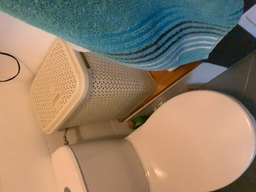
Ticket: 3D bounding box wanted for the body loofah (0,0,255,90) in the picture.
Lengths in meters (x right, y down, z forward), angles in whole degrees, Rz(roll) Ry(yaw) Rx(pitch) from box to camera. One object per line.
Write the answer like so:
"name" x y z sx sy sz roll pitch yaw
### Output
"body loofah" -0.080 -0.160 0.270 0.280 1.280 0.160 -41 64 35
